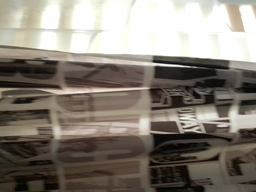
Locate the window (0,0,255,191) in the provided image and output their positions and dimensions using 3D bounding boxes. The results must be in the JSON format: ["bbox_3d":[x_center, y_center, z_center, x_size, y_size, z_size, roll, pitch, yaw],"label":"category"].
[{"bbox_3d":[0.010,-0.540,0.920,0.170,1.760,1.970,96,174,-69],"label":"window"}]
